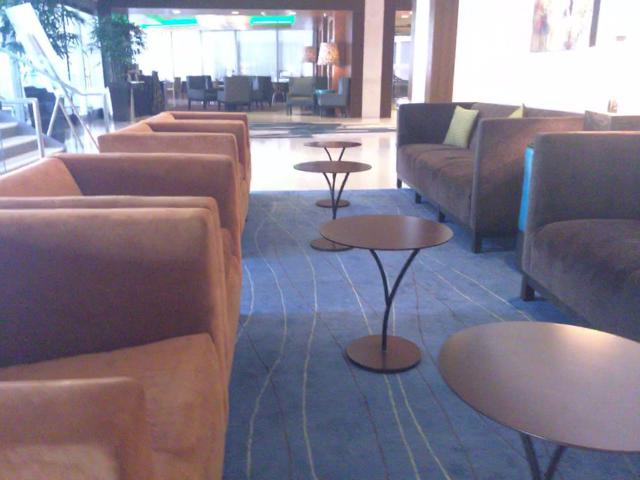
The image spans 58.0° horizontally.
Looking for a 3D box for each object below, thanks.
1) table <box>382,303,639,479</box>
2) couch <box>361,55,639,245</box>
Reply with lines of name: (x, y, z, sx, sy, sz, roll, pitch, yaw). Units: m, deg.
table: (0.430, 0.470, 1.190, 0.500, 0.490, 0.490, -3, 18, -6)
couch: (1.070, -0.890, 4.420, 1.030, 0.970, 2.790, -3, 18, -6)
